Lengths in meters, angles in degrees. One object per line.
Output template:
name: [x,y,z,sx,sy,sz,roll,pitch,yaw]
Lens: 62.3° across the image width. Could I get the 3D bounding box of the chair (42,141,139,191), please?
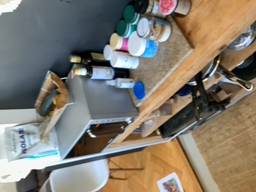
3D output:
chair: [-0.460,0.870,2.560,0.680,0.900,0.440,-28,69,51]
